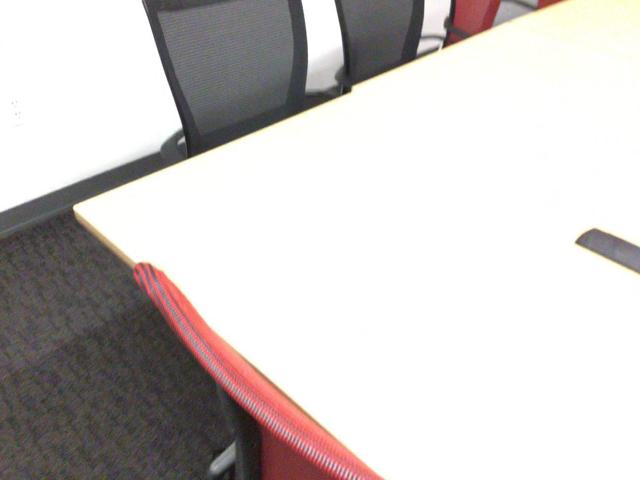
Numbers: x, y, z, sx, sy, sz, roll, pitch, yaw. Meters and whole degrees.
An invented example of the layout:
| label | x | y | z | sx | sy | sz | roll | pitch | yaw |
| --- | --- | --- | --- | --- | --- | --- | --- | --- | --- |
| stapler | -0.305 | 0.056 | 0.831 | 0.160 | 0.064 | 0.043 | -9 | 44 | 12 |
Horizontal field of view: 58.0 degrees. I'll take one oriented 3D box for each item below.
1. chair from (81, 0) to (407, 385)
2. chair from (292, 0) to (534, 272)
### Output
| label | x | y | z | sx | sy | sz | roll | pitch | yaw |
| --- | --- | --- | --- | --- | --- | --- | --- | --- | --- |
| chair | -0.170 | -0.180 | 1.560 | 0.560 | 0.880 | 0.460 | -30 | 48 | -34 |
| chair | 0.270 | -0.460 | 1.920 | 0.510 | 0.870 | 0.510 | -30 | 48 | -34 |
